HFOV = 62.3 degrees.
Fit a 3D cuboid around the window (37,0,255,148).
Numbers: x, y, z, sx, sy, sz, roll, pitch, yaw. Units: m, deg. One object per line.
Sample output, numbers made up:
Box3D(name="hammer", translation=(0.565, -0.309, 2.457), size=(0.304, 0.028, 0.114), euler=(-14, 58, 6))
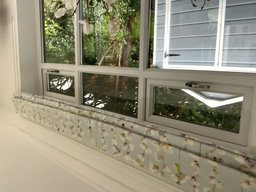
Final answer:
Box3D(name="window", translation=(-0.180, -0.590, 1.680), size=(2.080, 1.430, 0.110), euler=(10, -167, 41))
